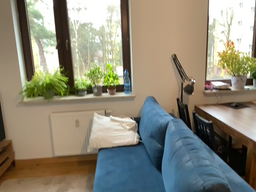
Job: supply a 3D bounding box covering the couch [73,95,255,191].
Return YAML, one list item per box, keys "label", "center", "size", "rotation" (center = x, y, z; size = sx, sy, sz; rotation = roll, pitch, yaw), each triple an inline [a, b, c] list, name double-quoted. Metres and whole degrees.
- label: "couch"
  center: [0.180, 0.680, 1.910]
  size: [0.990, 0.910, 2.230]
  rotation: [-3, 12, -5]

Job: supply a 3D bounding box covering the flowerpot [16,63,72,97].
- label: "flowerpot"
  center: [-1.140, -0.230, 2.950]
  size: [0.610, 0.420, 0.330]
  rotation: [-1, 12, 2]
